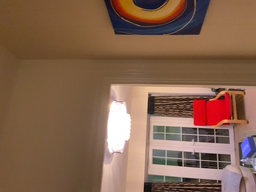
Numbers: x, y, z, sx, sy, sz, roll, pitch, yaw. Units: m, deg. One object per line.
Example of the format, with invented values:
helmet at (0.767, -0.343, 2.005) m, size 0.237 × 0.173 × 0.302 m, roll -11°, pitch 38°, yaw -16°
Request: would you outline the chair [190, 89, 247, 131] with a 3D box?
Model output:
chair at (1.950, 0.330, 4.730) m, size 0.800 × 0.960 × 0.710 m, roll 70°, pitch -157°, yaw -69°
